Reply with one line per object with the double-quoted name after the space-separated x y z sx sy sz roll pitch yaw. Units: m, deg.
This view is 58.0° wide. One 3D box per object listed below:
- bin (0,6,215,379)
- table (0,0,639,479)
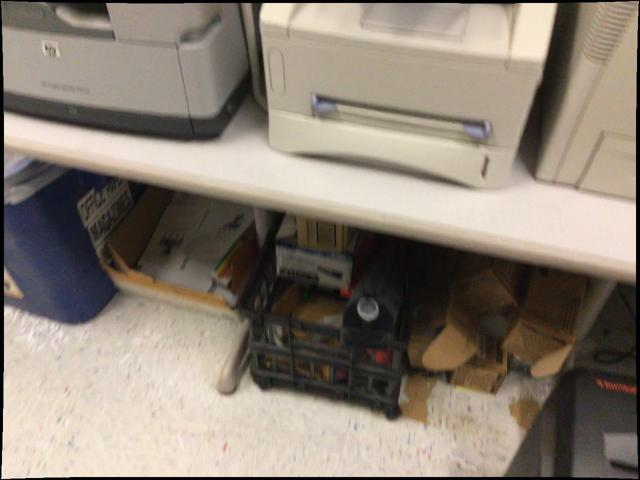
-0.718 -0.150 1.470 0.599 0.631 0.540 18 45 22 "bin"
0.219 -0.040 1.230 1.566 0.831 0.821 7 42 11 "table"
